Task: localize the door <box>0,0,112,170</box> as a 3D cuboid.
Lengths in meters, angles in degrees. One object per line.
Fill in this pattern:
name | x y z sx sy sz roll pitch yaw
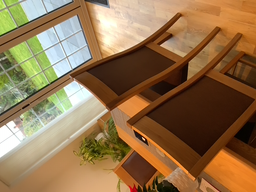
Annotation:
door | -1.260 -0.410 2.450 0.160 2.100 2.370 33 150 36
